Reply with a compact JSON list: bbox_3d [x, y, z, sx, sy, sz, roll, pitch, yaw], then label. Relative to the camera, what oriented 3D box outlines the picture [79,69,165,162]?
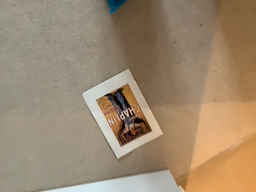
[{"bbox_3d":[-0.020,0.080,0.830,0.220,0.010,0.300,-28,99,1],"label":"picture"}]
